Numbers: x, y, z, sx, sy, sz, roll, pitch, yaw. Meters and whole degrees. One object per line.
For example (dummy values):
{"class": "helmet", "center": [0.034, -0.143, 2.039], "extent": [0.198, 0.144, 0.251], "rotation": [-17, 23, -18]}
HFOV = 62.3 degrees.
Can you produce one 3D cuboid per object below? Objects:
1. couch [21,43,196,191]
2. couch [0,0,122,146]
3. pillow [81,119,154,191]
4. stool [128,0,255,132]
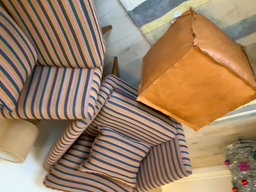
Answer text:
{"class": "couch", "center": [-0.120, 0.320, 1.640], "extent": [0.860, 0.800, 0.810], "rotation": [30, 136, -22]}
{"class": "couch", "center": [-0.540, -0.350, 0.950], "extent": [0.780, 0.780, 0.860], "rotation": [-1, 139, 12]}
{"class": "pillow", "center": [-0.090, 0.420, 1.540], "extent": [0.450, 0.330, 0.200], "rotation": [31, 105, -22]}
{"class": "stool", "center": [0.380, -0.160, 1.280], "extent": [0.500, 0.420, 0.530], "rotation": [30, 136, -22]}
